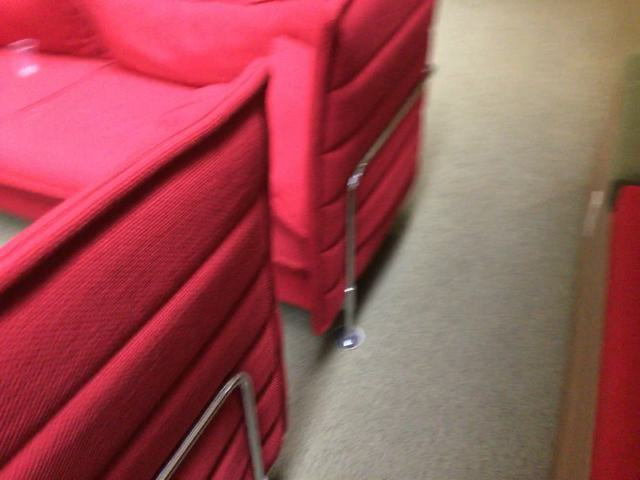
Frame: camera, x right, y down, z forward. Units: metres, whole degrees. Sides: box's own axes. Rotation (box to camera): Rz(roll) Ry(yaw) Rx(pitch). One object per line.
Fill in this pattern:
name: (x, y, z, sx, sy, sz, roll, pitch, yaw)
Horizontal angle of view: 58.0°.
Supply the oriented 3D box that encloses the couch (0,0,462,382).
couch: (-0.910, -0.600, 1.840, 2.480, 1.010, 1.000, 12, 41, 21)
